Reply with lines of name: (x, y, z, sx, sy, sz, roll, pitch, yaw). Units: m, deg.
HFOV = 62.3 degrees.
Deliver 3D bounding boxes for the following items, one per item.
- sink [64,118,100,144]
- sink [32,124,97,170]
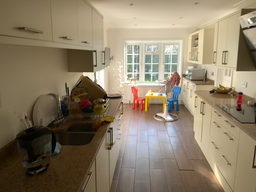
sink: (-0.440, 0.340, 2.080, 0.300, 0.180, 0.190, 2, 12, 4)
sink: (-0.520, 0.420, 1.820, 0.420, 0.230, 0.370, 2, 12, 4)
